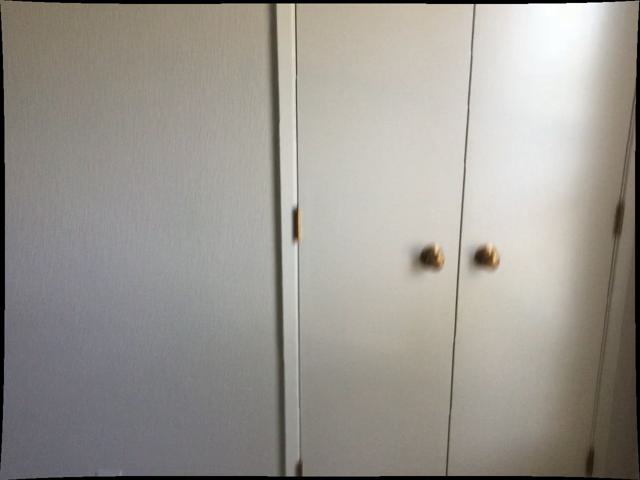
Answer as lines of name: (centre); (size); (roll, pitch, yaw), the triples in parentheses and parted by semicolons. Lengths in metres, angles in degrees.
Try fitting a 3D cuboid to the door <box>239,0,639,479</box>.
door: (0.399, -0.020, 1.600); (1.108, 2.143, 0.110); (-5, 15, -3)
